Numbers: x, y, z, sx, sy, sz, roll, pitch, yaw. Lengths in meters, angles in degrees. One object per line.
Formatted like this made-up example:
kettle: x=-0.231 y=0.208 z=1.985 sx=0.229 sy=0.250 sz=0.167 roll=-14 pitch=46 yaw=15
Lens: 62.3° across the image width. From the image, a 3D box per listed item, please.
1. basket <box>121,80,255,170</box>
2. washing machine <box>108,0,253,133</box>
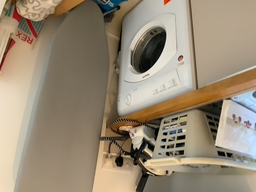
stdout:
basket: x=0.320 y=0.210 z=1.130 sx=0.490 sy=0.290 sz=0.510 roll=19 pitch=152 yaw=-33
washing machine: x=0.320 y=-0.260 z=1.460 sx=0.600 sy=0.830 sz=0.620 roll=19 pitch=152 yaw=-33
